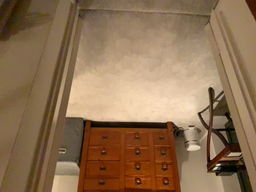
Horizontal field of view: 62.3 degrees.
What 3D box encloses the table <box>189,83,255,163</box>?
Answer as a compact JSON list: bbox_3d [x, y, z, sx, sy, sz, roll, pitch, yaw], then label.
[{"bbox_3d":[1.050,0.310,2.270,0.500,0.640,0.640,1,147,-3],"label":"table"}]
